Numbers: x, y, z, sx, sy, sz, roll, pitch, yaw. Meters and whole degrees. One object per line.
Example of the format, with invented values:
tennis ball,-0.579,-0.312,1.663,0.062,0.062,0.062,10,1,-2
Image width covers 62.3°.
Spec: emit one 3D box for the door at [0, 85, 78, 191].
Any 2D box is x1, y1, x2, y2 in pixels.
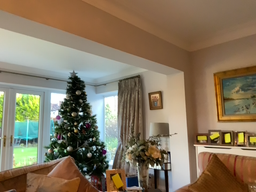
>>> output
door,-2.290,0.800,4.140,0.120,1.980,3.010,-8,-10,42
